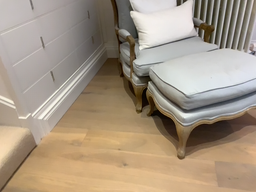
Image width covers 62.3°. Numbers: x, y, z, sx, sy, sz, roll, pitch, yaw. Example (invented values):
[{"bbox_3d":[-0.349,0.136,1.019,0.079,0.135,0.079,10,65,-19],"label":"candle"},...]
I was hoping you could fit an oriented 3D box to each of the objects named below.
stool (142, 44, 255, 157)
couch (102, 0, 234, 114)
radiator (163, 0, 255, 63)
[{"bbox_3d":[0.540,-0.010,1.530,0.730,0.460,0.500,-14,34,-15],"label":"stool"},{"bbox_3d":[0.280,-0.520,1.960,0.760,0.880,0.860,-14,34,-15],"label":"couch"},{"bbox_3d":[0.840,-0.750,2.300,0.880,0.740,0.180,4,33,13],"label":"radiator"}]
